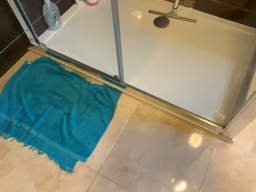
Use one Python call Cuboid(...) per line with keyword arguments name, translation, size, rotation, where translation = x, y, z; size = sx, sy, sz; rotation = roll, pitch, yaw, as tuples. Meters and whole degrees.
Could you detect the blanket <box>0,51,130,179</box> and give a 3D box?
Cuboid(name="blanket", translation=(-0.440, 0.050, 1.230), size=(0.740, 0.030, 0.550), rotation=(22, 61, 14))
